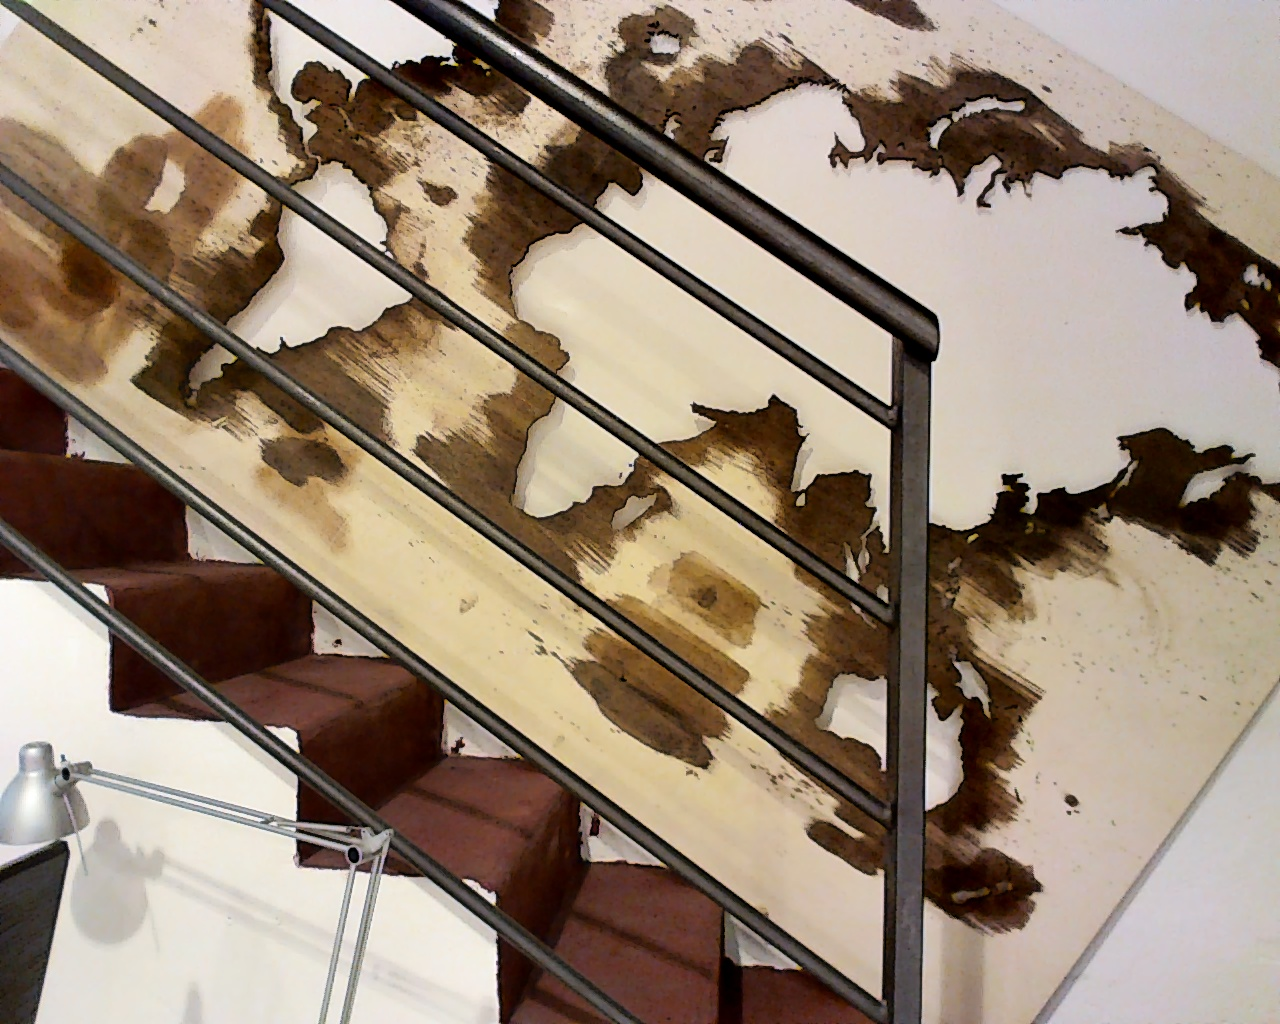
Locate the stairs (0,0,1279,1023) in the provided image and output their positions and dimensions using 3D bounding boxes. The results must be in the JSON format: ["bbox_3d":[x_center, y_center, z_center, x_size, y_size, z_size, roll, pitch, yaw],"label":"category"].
[{"bbox_3d":[-1.210,-0.460,1.660,3.959,3.791,1.050,2,-1,6],"label":"stairs"}]
